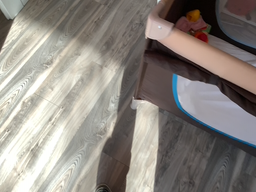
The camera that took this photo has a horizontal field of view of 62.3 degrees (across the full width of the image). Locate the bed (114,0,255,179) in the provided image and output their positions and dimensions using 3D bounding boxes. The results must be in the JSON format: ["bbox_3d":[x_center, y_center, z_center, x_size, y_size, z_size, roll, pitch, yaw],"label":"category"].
[{"bbox_3d":[0.740,-0.110,1.120,1.400,0.790,0.820,27,67,8],"label":"bed"}]
